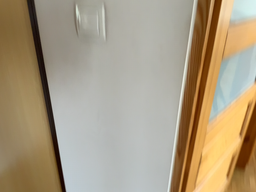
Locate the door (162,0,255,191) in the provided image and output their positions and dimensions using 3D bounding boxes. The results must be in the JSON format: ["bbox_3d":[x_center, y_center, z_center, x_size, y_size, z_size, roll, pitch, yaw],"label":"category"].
[{"bbox_3d":[0.500,-0.050,1.020,0.160,2.220,0.820,23,34,36],"label":"door"}]
